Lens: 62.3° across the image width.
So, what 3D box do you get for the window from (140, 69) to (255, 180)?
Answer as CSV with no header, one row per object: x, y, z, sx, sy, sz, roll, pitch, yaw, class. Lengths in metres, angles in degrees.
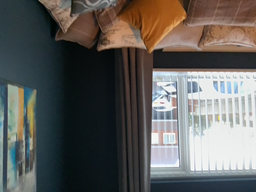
1.130,0.310,2.430,1.970,1.240,0.070,0,175,-2,window
